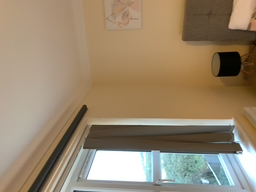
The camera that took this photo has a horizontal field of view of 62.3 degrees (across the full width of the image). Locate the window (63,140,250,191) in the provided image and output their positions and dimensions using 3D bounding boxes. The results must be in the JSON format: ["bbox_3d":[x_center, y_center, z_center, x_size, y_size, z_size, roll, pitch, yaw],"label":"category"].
[{"bbox_3d":[0.200,0.670,1.630,1.060,1.330,0.060,-77,-14,-68],"label":"window"}]
